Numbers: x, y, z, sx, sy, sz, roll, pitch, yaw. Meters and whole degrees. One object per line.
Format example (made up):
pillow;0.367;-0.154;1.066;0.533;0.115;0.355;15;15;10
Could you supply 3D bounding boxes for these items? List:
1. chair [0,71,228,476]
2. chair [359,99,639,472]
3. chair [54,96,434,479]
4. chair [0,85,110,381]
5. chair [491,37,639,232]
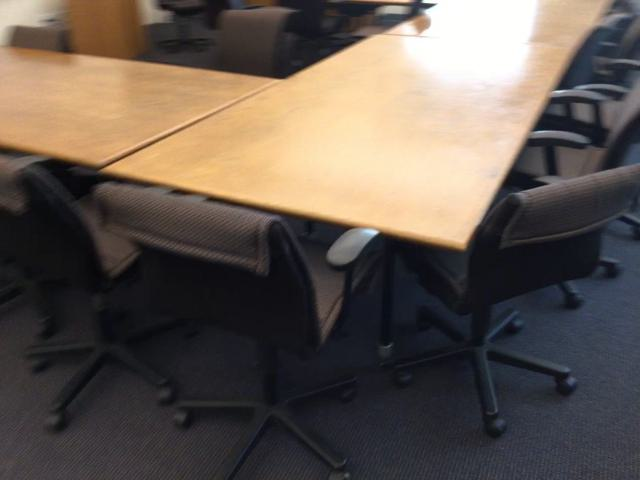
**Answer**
chair;-0.760;0.060;1.910;0.610;0.960;0.740;16;32;17
chair;0.570;0.110;1.850;0.560;0.920;0.580;-12;35;-28
chair;-0.170;0.220;1.630;0.670;0.980;0.640;16;32;17
chair;-1.260;-0.060;2.150;0.640;0.870;0.580;10;31;6
chair;0.980;-0.440;2.250;0.430;0.500;0.630;16;32;17
